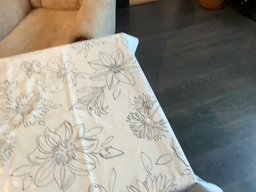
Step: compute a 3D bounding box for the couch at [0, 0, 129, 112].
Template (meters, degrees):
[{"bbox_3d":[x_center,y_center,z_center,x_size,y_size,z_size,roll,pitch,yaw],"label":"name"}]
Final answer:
[{"bbox_3d":[-0.480,-0.600,1.400,0.800,0.950,0.940,8,53,7],"label":"couch"}]
